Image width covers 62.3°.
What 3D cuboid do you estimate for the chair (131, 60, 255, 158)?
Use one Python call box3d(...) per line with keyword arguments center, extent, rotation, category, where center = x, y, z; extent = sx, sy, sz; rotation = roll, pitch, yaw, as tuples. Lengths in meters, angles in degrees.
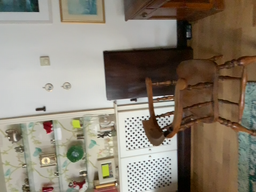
box3d(center=(0.480, 0.030, 1.720), extent=(0.630, 0.750, 0.600), rotation=(-147, 54, -73), category="chair")
